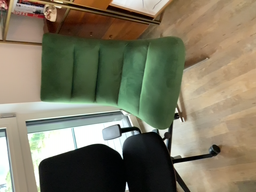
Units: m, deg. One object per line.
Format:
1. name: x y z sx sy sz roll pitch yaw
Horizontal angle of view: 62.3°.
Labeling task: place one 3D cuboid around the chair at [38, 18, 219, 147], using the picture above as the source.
1. chair: -0.030 -0.140 1.480 0.800 0.920 0.550 18 107 51
